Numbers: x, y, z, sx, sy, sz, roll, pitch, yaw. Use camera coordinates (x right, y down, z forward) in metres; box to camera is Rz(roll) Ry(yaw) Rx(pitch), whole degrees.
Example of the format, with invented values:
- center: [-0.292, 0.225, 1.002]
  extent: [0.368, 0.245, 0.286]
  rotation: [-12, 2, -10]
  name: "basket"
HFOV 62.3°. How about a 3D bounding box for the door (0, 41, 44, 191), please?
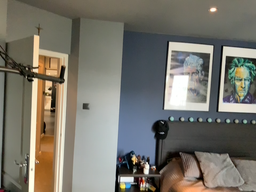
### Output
- center: [-1.100, 0.580, 1.920]
  extent: [0.950, 2.040, 0.090]
  rotation: [6, 3, 39]
  name: "door"
